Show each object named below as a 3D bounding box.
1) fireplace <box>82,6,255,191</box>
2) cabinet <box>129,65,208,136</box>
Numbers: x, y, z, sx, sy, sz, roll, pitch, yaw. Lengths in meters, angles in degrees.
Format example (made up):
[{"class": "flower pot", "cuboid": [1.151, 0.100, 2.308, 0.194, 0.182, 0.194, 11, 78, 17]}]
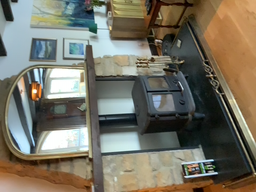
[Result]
[{"class": "fireplace", "cuboid": [0.190, 0.140, 2.260, 1.110, 1.200, 1.820, 110, 153, -54]}, {"class": "cabinet", "cuboid": [0.390, 0.050, 2.320, 0.500, 0.590, 0.570, 108, 156, -53]}]
